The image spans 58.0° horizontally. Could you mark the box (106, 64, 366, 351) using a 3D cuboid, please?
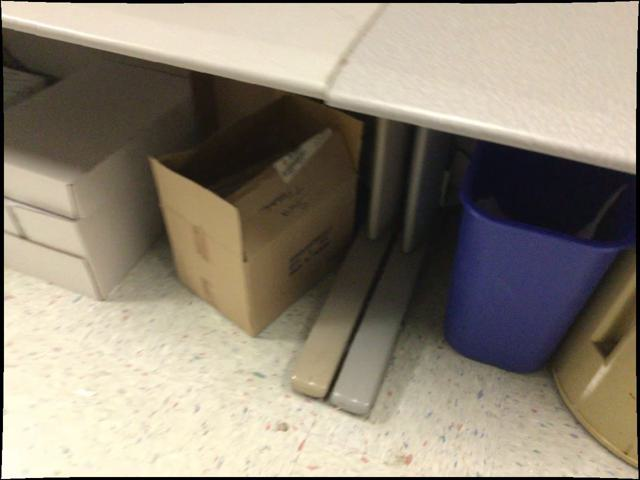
[{"bbox_3d":[-0.120,-0.070,1.120,0.329,0.320,0.390,11,53,12],"label":"box"}]
